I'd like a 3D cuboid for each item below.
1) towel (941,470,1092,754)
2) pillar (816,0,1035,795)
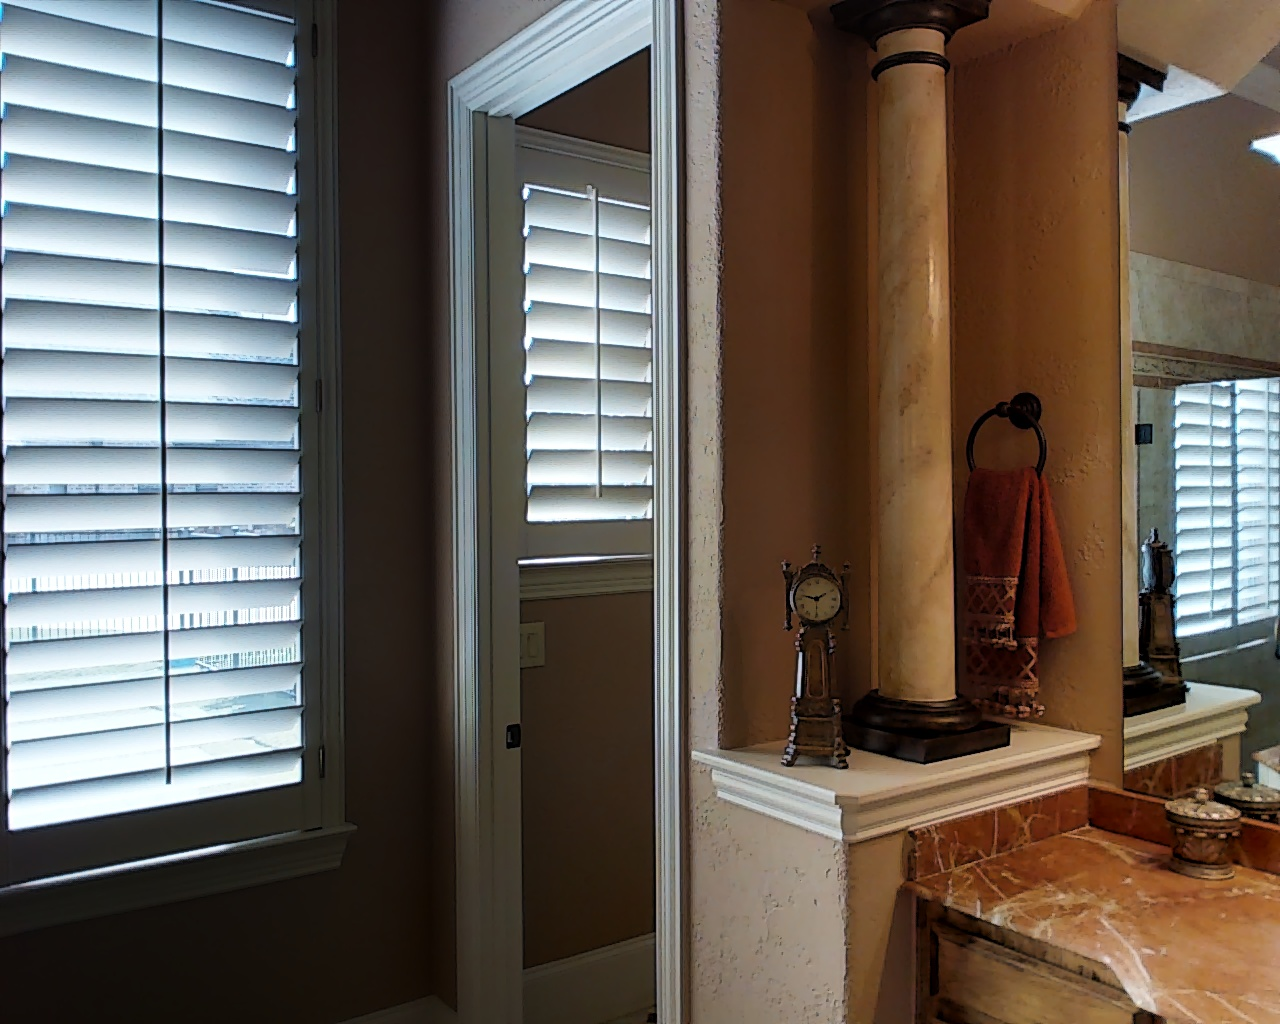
[{"bbox_3d":[0.720,0.180,2.070,0.100,0.510,0.260,-1,0,-35],"label":"towel"},{"bbox_3d":[0.510,-0.210,1.930,0.260,1.340,0.260,-1,0,-36],"label":"pillar"}]
